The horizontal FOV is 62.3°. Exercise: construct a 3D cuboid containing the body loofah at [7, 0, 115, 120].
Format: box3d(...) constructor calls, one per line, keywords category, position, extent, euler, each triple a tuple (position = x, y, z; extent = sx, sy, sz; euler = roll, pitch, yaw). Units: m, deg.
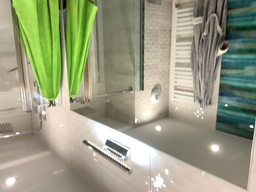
box3d(category="body loofah", position=(-0.460, -0.510, 1.510), extent=(0.610, 1.200, 0.370), euler=(-10, -164, -40))
